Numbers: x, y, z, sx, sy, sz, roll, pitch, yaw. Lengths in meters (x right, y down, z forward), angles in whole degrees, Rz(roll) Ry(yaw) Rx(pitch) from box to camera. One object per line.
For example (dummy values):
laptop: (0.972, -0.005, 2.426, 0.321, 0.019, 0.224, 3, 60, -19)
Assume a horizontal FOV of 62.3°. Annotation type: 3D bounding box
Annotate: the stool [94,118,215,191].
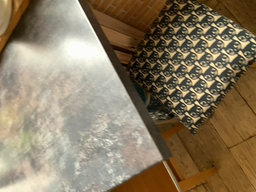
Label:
stool: (0.150, 0.350, 1.070, 0.320, 0.460, 0.320, -40, 68, 28)
